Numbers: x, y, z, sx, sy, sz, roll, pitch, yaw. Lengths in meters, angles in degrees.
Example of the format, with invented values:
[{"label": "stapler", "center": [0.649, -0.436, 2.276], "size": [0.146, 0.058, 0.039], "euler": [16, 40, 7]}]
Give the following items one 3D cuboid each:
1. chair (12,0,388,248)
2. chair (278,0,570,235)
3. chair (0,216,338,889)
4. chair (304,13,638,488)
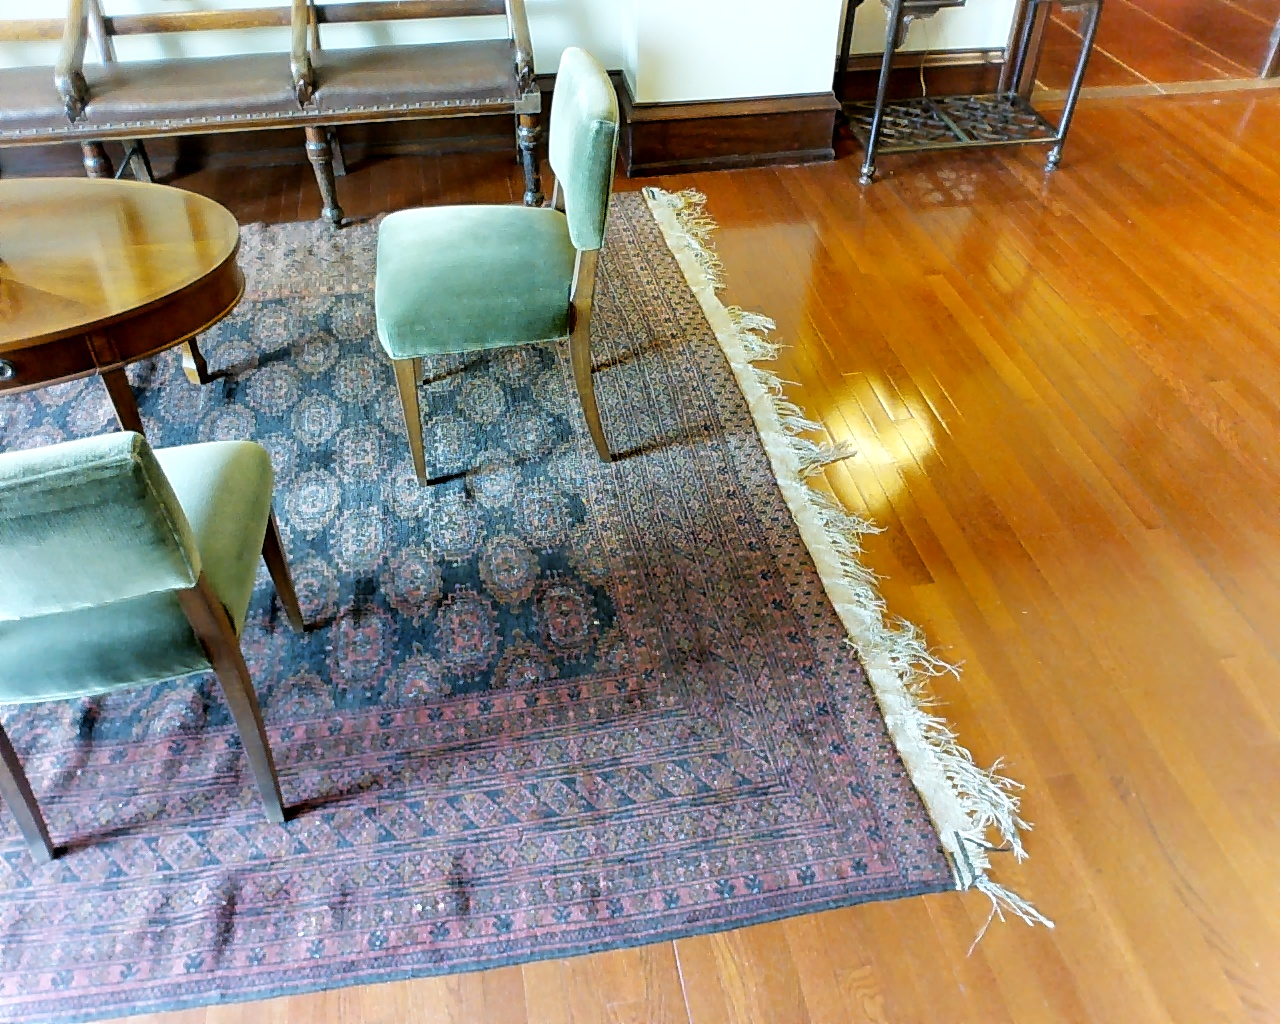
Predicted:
[{"label": "chair", "center": [-1.270, -1.400, 3.280], "size": [0.850, 0.870, 0.690], "euler": [-7, 42, -7]}, {"label": "chair", "center": [-0.660, -1.470, 3.370], "size": [0.760, 0.880, 0.710], "euler": [-7, 42, -7]}, {"label": "chair", "center": [-0.870, 0.080, 1.690], "size": [0.600, 0.840, 0.580], "euler": [-7, 42, -7]}, {"label": "chair", "center": [-0.340, -0.570, 2.380], "size": [0.590, 0.820, 0.540], "euler": [-7, 42, -7]}]
